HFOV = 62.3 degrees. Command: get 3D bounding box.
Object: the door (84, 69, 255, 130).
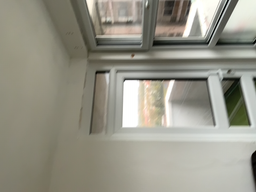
[{"bbox_3d":[0.670,0.020,1.910,0.050,2.090,0.560,85,-174,-67],"label":"door"}]
